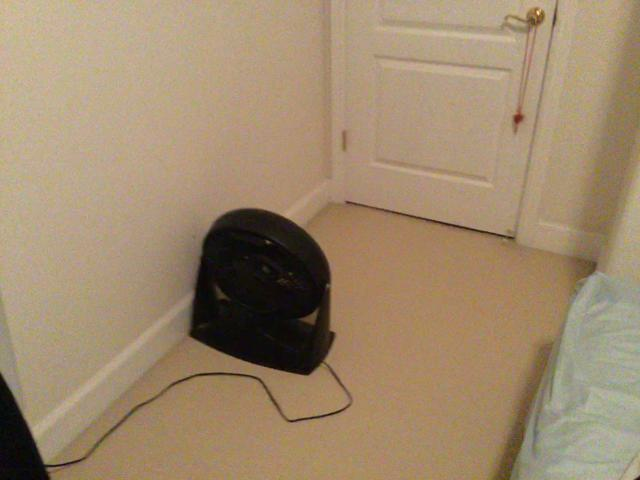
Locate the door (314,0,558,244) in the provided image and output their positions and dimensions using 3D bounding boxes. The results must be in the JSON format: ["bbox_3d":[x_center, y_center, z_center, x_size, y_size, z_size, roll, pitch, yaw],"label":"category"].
[{"bbox_3d":[0.410,-0.500,2.380,0.890,0.940,0.110,13,36,22],"label":"door"}]
